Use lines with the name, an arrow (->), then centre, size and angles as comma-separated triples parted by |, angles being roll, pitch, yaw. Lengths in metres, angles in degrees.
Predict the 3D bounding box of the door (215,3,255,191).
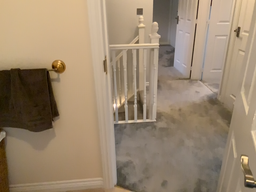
door -> 0.400, 0.100, 0.700 | 0.020, 1.910, 0.760 | 9, 26, 20
